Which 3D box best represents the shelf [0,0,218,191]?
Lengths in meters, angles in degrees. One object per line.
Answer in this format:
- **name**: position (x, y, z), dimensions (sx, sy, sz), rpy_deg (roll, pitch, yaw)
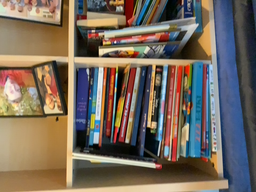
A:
- **shelf**: position (-0.190, -0.260, 0.740), dimensions (0.880, 1.110, 0.240), rpy_deg (0, 174, -8)
